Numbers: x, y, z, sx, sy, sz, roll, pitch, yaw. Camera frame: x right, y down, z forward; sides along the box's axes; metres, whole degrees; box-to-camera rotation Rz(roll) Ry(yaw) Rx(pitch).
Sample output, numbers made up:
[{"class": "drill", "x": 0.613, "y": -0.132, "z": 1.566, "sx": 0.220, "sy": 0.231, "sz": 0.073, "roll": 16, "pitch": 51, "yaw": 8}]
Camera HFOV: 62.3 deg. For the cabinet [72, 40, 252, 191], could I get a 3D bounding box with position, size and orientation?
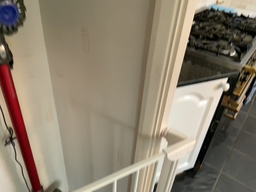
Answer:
[{"class": "cabinet", "x": 0.150, "y": 0.270, "z": 1.220, "sx": 0.600, "sy": 0.900, "sz": 0.600, "roll": 26, "pitch": 40, "yaw": 27}]
